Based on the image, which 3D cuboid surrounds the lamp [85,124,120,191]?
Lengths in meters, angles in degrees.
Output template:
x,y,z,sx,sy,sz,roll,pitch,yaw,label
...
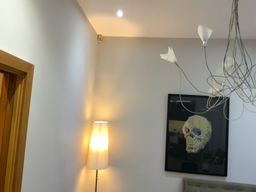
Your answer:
x,y,z,sx,sy,sz,roll,pitch,yaw,label
-0.380,1.240,2.990,0.360,1.650,0.340,4,-5,5,lamp
